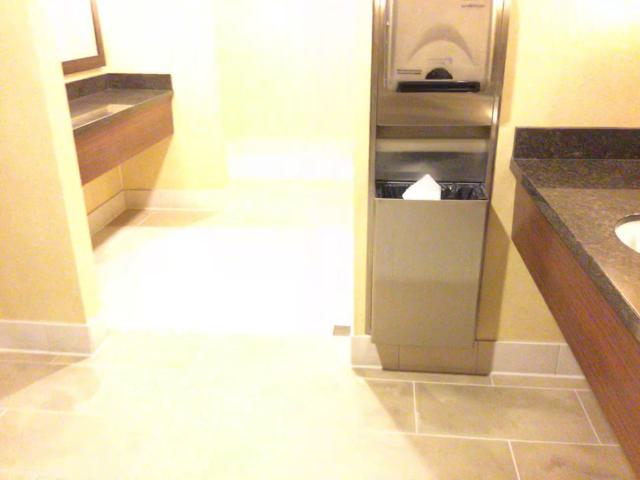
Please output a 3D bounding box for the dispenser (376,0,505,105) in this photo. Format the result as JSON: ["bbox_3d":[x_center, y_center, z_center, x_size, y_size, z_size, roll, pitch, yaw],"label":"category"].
[{"bbox_3d":[0.370,-0.660,1.820,0.370,0.430,0.190,2,23,8],"label":"dispenser"}]

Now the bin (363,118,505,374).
[{"bbox_3d":[0.380,0.030,2.070,0.430,0.890,0.210,2,23,8],"label":"bin"}]
